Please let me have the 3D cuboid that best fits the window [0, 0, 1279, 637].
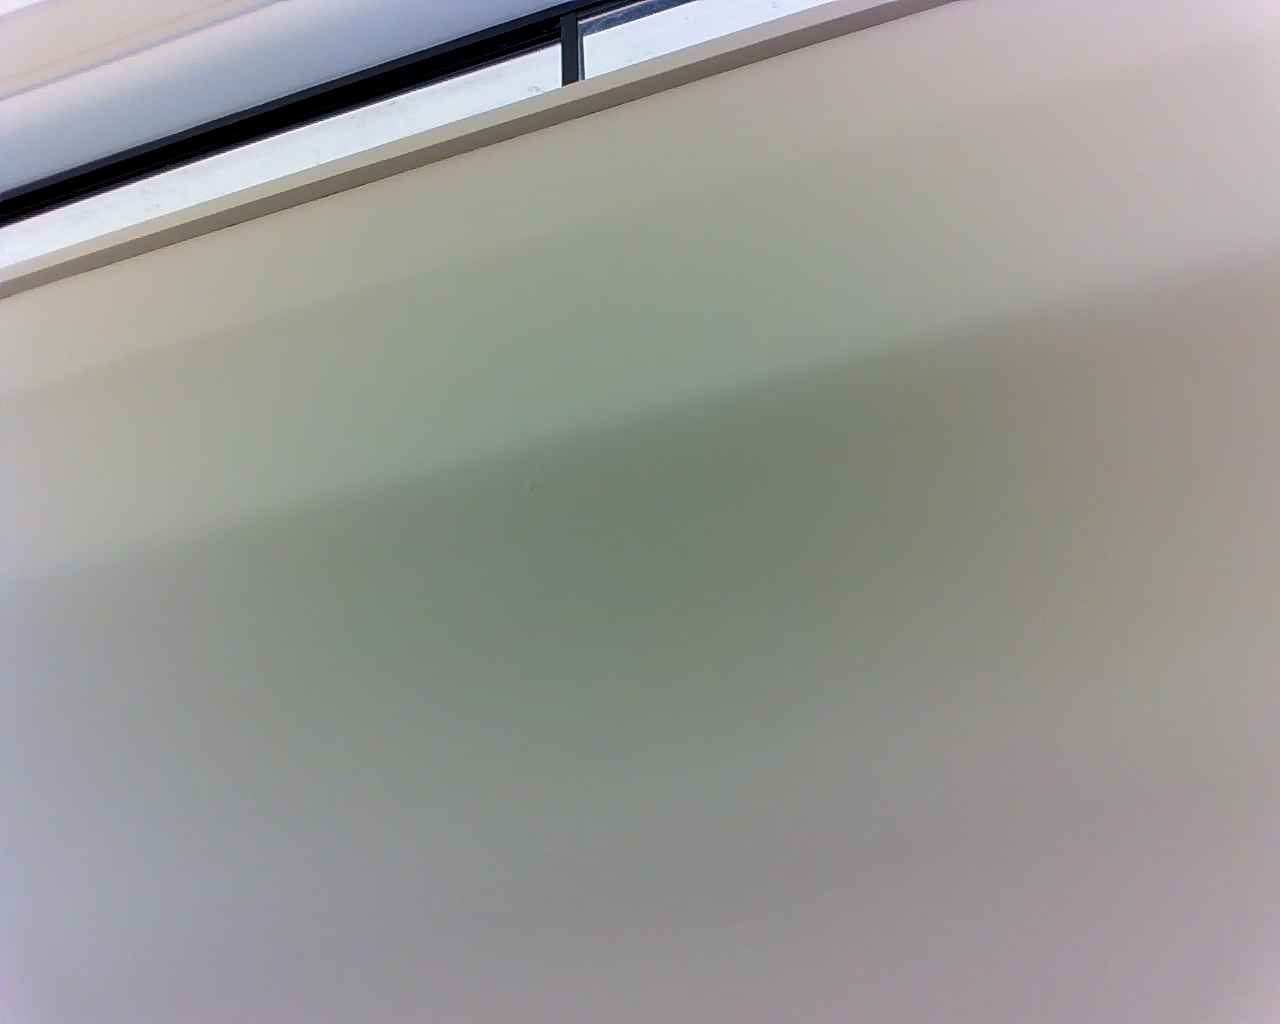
[{"bbox_3d":[-0.640,-0.380,1.550,2.539,0.980,0.380,-13,-44,9],"label":"window"}]
